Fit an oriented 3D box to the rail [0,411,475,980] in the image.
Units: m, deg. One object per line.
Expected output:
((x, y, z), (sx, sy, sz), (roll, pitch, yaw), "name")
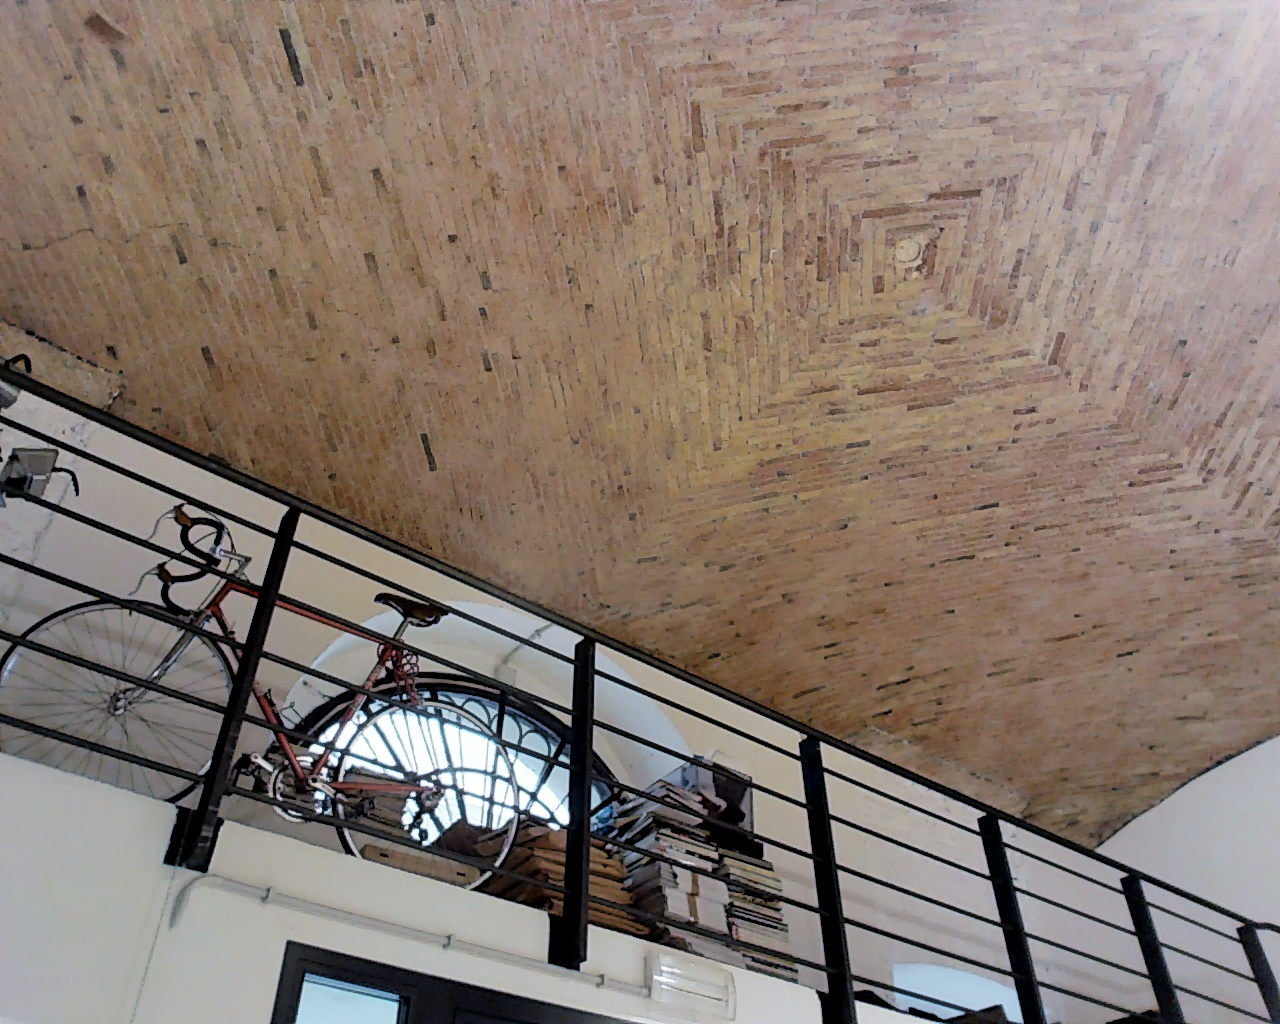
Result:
((-1.490, 0.480, 3.160), (2.080, 1.240, 0.220), (28, -50, -28), "rail")
